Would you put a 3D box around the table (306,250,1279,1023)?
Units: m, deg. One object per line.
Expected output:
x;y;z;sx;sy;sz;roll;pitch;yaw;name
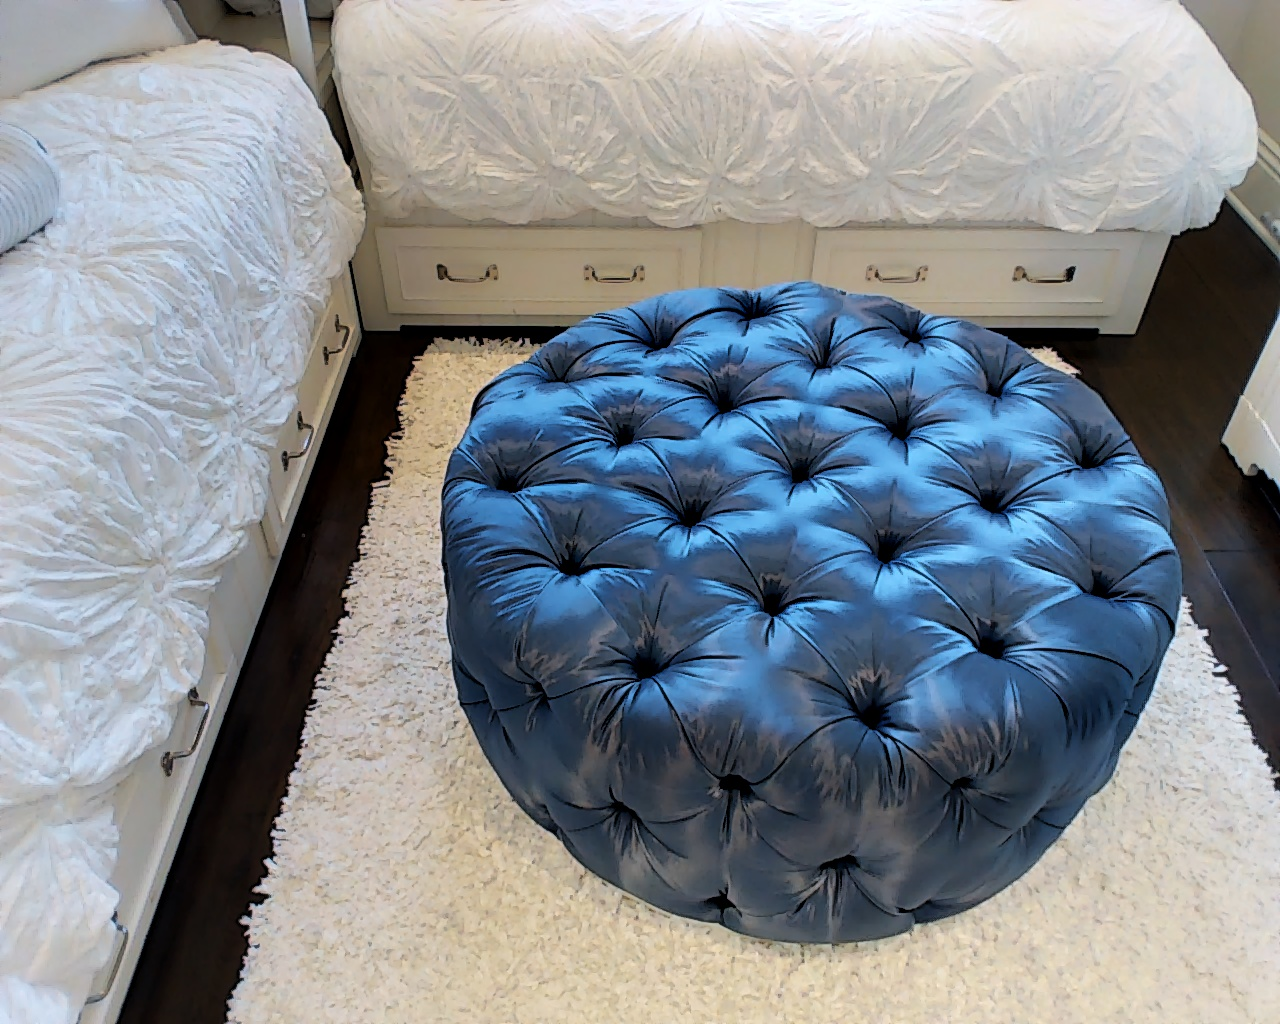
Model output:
0.260;0.110;1.750;1.200;0.520;1.190;2;42;1;table
